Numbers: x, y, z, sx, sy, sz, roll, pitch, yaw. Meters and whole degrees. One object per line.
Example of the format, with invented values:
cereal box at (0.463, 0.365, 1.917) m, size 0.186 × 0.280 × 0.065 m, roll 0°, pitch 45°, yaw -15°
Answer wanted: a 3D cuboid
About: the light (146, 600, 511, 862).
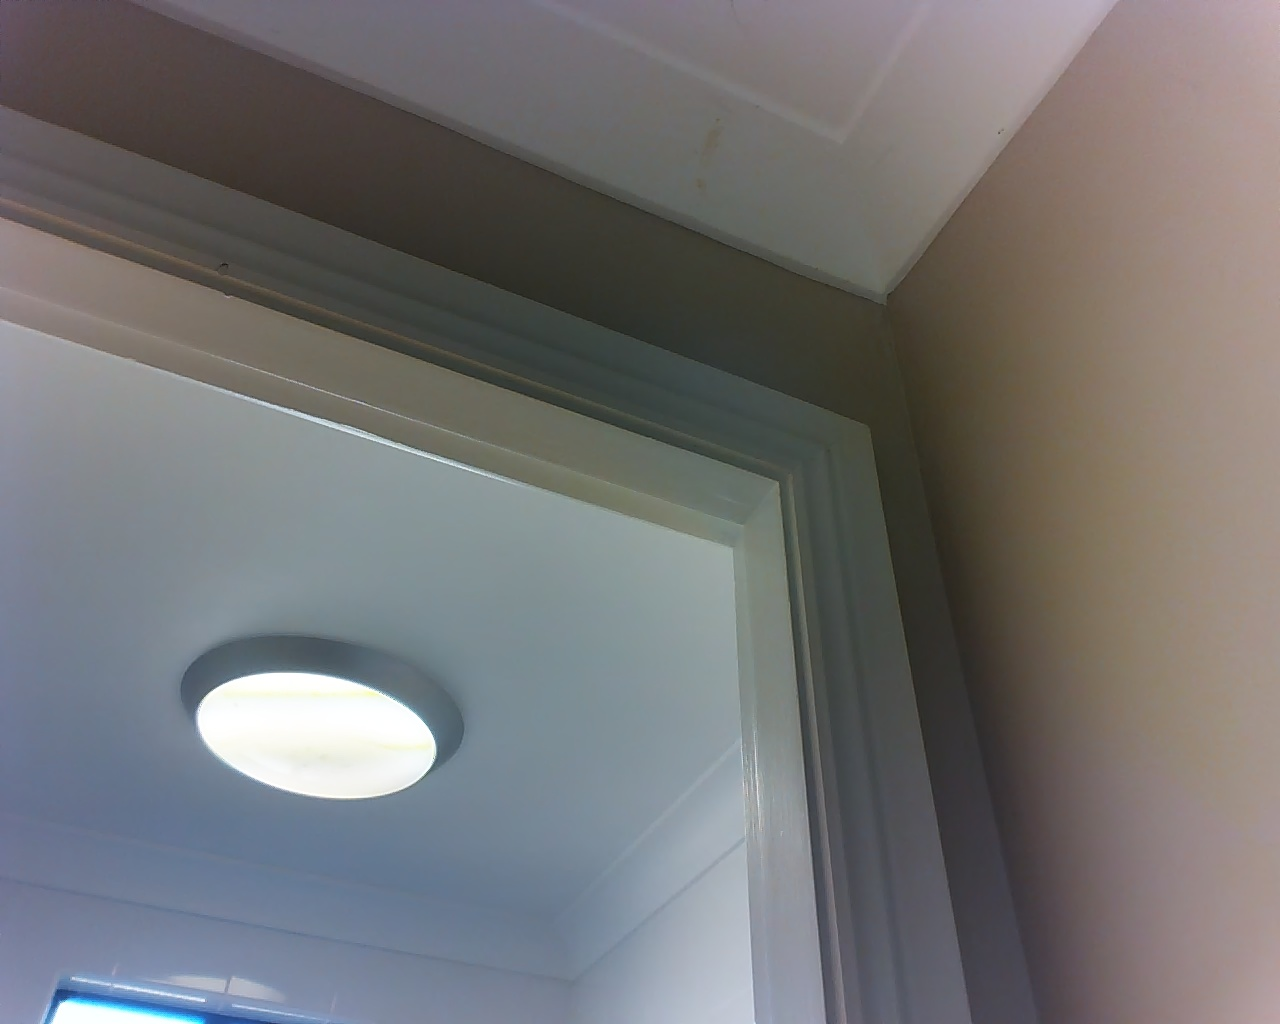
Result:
light at (-0.490, 0.360, 1.650) m, size 0.450 × 0.100 × 0.450 m, roll 18°, pitch -45°, yaw -16°
